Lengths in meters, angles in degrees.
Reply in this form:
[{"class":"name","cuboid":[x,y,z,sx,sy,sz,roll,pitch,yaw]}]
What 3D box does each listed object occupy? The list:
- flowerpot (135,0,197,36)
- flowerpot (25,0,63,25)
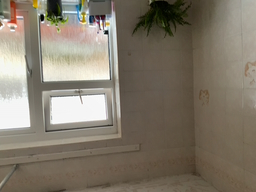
[{"class":"flowerpot","cuboid":[0.270,-0.620,1.600,0.380,0.260,0.290,-4,-177,-9]},{"class":"flowerpot","cuboid":[-0.590,-0.620,1.510,0.230,0.180,0.150,-4,-176,-15]}]
